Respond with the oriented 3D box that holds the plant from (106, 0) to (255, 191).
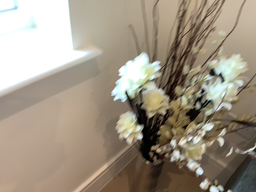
[{"bbox_3d":[0.220,0.080,0.960,0.480,1.120,0.390,-29,52,-33],"label":"plant"}]
